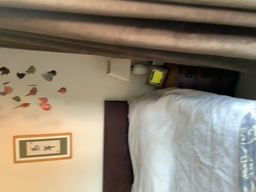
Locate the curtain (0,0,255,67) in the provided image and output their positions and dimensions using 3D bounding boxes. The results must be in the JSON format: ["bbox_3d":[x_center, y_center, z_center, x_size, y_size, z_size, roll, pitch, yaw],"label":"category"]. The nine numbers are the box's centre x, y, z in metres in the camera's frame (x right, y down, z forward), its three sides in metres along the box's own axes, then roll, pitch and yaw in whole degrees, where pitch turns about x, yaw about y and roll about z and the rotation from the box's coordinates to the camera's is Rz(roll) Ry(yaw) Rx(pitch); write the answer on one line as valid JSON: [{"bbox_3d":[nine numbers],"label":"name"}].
[{"bbox_3d":[0.270,-0.330,0.940,0.450,2.200,0.290,-172,83,-73],"label":"curtain"}]

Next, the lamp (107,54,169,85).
[{"bbox_3d":[0.080,-0.250,2.060,0.330,0.510,0.250,-160,72,-73],"label":"lamp"}]
